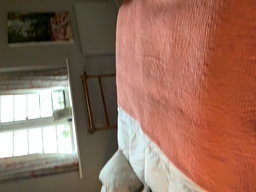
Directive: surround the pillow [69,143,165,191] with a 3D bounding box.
[{"bbox_3d":[-0.090,0.620,1.790,0.690,0.410,0.160,8,103,26],"label":"pillow"}]
